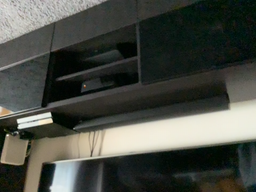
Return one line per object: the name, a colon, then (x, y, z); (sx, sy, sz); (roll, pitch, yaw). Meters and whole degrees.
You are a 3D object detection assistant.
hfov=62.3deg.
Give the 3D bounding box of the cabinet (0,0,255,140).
cabinet: (-0.120, -0.190, 1.440); (1.800, 0.660, 0.550); (-12, 153, 22)
